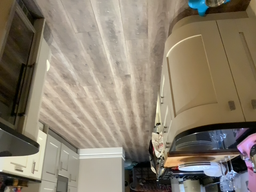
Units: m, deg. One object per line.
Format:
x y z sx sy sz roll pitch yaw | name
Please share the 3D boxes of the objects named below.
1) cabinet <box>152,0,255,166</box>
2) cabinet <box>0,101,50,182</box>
0.540 0.010 1.760 0.600 0.910 1.110 -5 154 5 | cabinet
-1.670 0.700 3.020 0.620 0.890 0.980 -4 154 4 | cabinet
